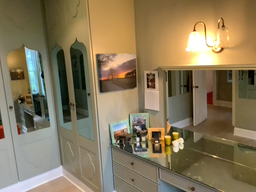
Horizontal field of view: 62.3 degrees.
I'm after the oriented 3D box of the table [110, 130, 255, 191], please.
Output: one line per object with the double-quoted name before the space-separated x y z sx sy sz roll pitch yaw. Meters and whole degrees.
"table" 0.690 0.930 1.850 0.490 0.730 2.040 -13 14 -41
